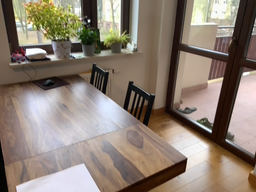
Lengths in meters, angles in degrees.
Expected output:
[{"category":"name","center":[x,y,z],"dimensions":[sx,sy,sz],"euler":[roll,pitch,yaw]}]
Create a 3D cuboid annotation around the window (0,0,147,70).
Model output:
[{"category":"window","center":[-0.520,-1.160,2.290],"dimensions":[1.610,1.560,0.240],"euler":[-11,27,-29]}]
